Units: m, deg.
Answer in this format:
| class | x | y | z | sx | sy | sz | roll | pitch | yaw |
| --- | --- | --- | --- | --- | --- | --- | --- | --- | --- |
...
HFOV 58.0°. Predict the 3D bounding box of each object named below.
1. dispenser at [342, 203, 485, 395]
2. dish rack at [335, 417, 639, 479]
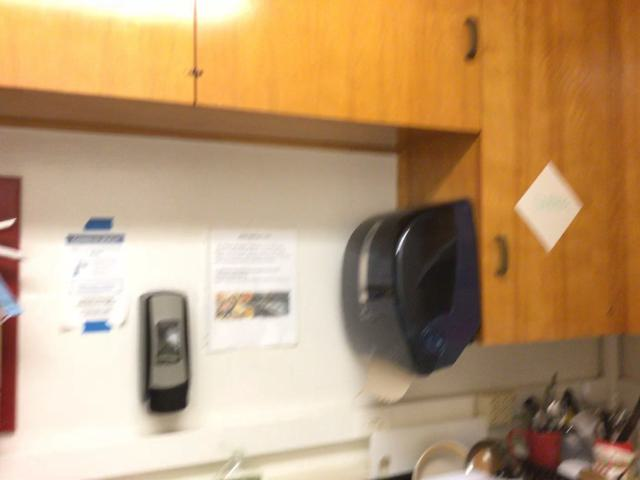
| class | x | y | z | sx | sy | sz | roll | pitch | yaw |
| --- | --- | --- | --- | --- | --- | --- | --- | --- | --- |
| dispenser | 0.200 | 0.120 | 1.340 | 0.160 | 0.380 | 0.350 | 0 | -1 | -24 |
| dish rack | 0.410 | 0.590 | 1.250 | 0.620 | 0.220 | 0.450 | 0 | -1 | -24 |
